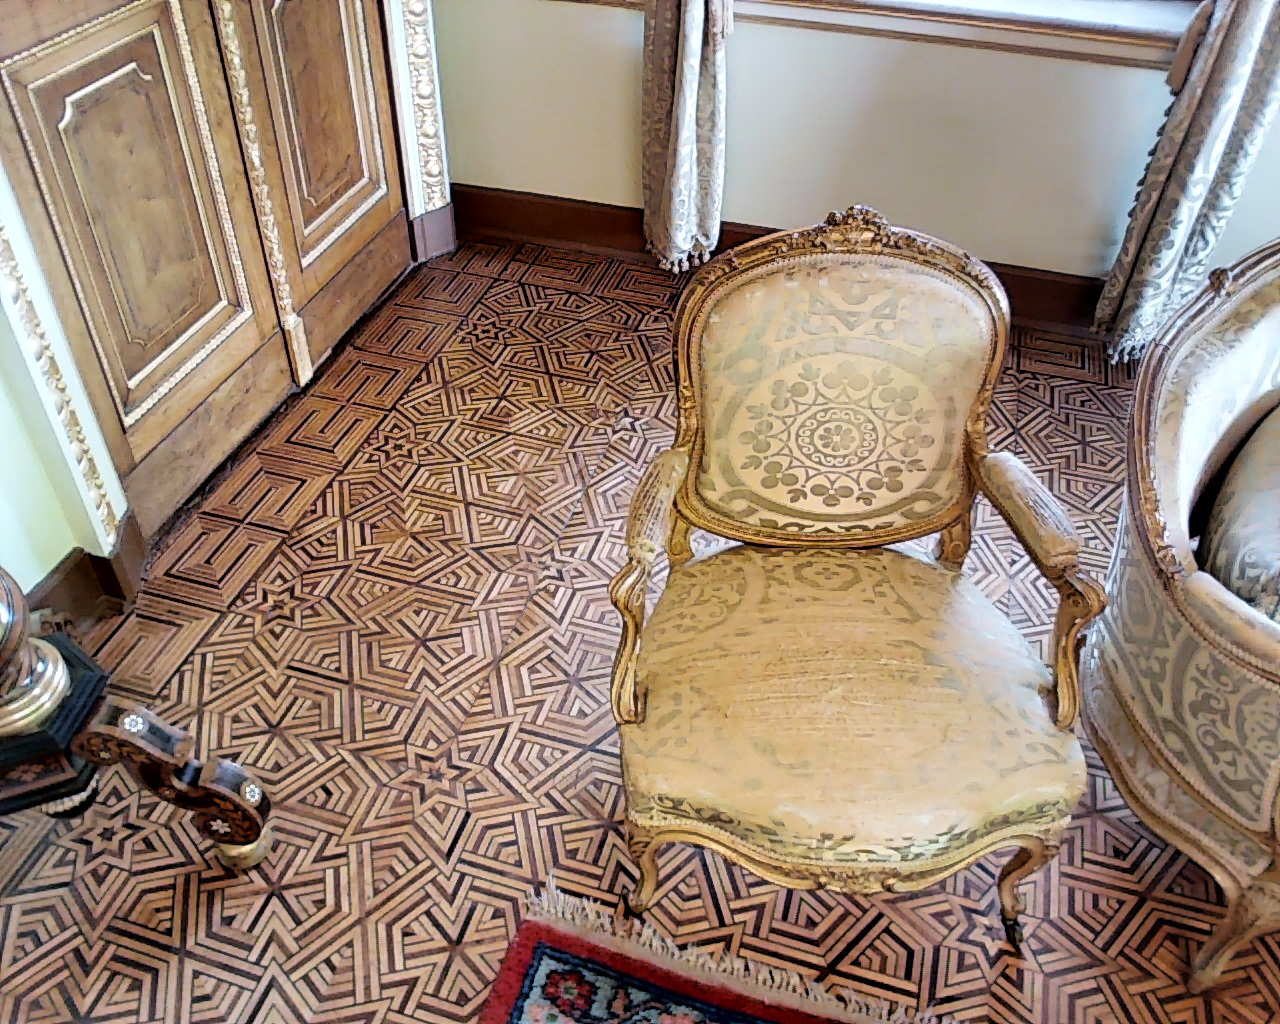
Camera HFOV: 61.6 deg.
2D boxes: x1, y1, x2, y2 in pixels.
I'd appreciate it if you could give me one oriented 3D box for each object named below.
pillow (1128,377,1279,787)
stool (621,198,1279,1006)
[{"bbox_3d":[0.980,0.090,1.660,0.220,0.340,0.520,22,46,22],"label":"pillow"},{"bbox_3d":[0.370,0.170,1.710,0.770,1.060,0.730,2,41,1],"label":"stool"}]
